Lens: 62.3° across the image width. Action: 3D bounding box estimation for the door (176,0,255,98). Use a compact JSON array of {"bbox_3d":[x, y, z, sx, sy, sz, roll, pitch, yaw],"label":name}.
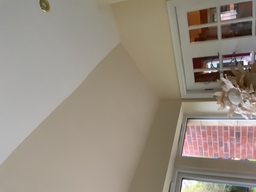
[{"bbox_3d":[1.590,-0.600,2.210,0.240,1.980,1.270,-60,-39,-51],"label":"door"}]
